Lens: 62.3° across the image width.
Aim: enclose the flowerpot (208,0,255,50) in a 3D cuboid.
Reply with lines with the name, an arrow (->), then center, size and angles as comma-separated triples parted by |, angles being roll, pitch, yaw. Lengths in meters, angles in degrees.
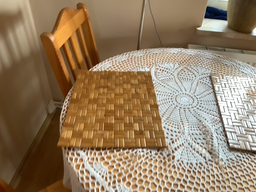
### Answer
flowerpot -> 0.650, -0.460, 1.160 | 0.280, 0.340, 0.210 | 5, 40, 1
